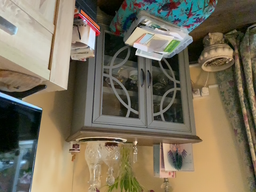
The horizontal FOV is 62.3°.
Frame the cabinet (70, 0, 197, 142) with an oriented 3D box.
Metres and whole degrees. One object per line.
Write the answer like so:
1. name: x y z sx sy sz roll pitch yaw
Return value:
1. cabinet: 0.030 -0.140 1.750 0.860 0.940 0.430 8 160 -22
